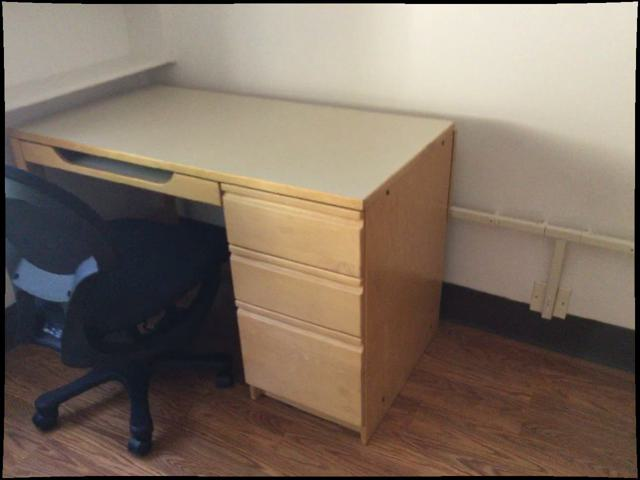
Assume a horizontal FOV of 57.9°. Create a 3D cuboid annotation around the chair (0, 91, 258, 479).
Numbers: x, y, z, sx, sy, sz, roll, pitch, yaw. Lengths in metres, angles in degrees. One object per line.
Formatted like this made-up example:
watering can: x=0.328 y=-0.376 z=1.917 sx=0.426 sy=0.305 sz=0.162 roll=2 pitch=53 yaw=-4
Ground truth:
chair: x=-0.579 y=0.090 z=1.630 sx=0.520 sy=0.821 sz=0.570 roll=14 pitch=33 yaw=25
